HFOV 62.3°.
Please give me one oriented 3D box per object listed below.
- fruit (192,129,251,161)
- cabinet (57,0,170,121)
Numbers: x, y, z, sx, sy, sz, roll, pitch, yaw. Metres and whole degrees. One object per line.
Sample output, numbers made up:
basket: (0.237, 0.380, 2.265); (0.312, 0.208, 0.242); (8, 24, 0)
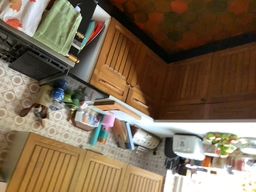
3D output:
fruit: (0.870, 0.450, 1.970); (0.370, 0.170, 0.370); (31, 156, -36)
cabinet: (-0.110, -0.290, 2.240); (0.800, 0.890, 0.580); (30, 156, -36)
